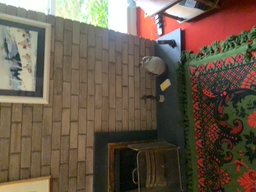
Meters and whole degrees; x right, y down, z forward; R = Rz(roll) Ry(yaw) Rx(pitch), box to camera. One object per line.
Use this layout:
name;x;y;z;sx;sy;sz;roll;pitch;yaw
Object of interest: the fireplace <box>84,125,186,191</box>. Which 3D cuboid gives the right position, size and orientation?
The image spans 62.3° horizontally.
fireplace;0.050;0.650;1.970;0.560;0.750;0.730;-11;78;57
